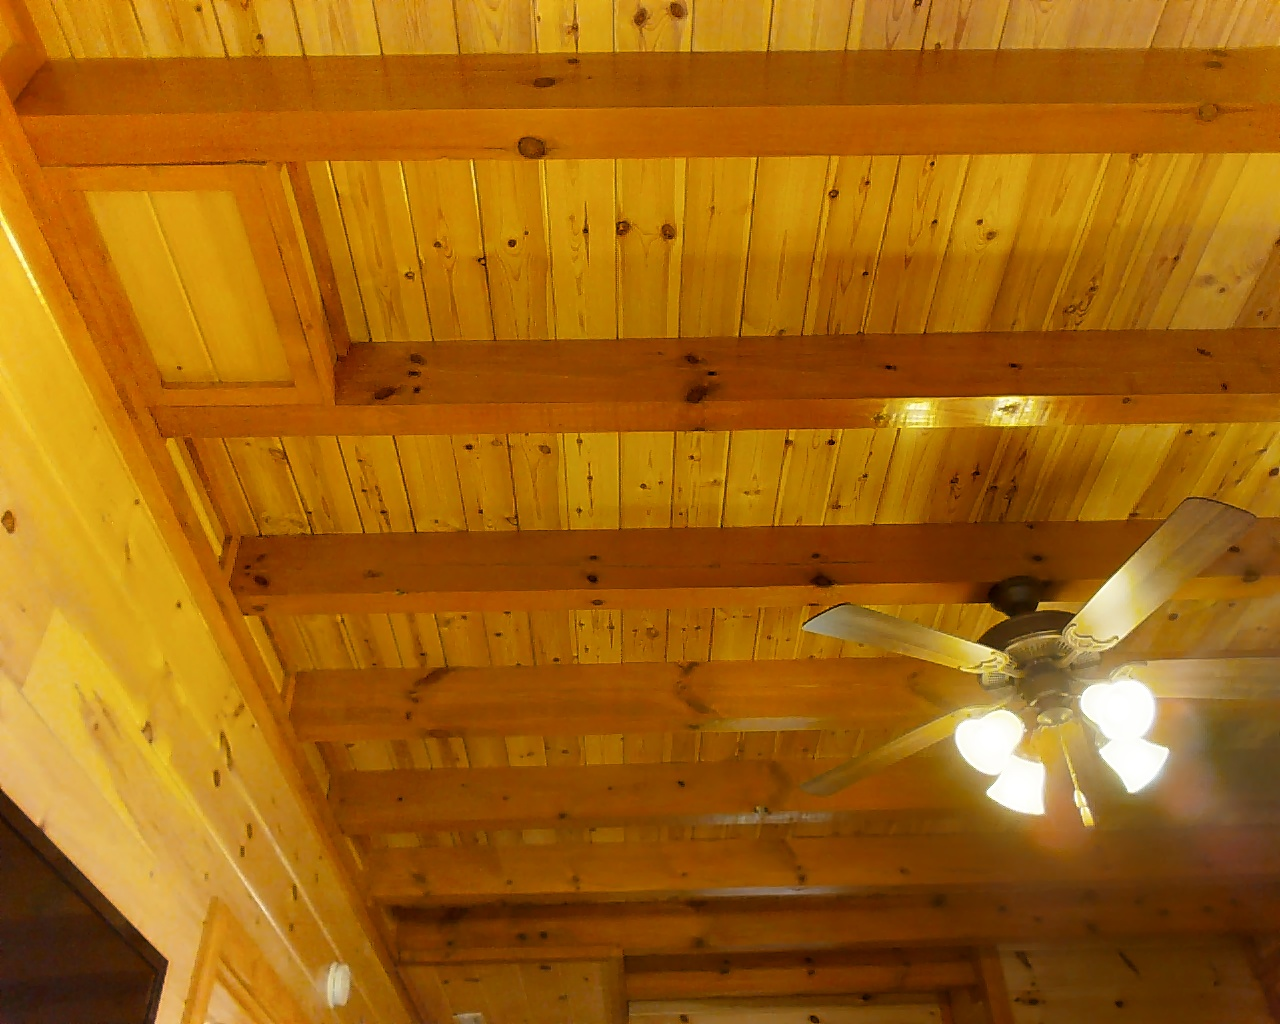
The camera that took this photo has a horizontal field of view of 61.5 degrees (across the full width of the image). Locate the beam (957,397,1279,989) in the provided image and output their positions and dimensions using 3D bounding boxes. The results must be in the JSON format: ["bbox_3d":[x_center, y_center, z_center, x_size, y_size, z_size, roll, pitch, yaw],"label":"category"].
[{"bbox_3d":[2.150,0.750,4.280,1.040,1.610,1.760,-2,-41,-1],"label":"beam"}]

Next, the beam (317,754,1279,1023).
[{"bbox_3d":[0.880,1.760,4.440,3.820,0.330,2.330,-2,-41,-1],"label":"beam"}]
